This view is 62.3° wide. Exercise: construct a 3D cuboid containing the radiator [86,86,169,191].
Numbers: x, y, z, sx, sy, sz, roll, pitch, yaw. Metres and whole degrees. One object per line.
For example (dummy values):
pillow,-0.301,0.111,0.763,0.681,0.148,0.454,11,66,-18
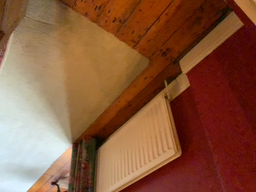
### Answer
radiator,-0.070,0.450,1.880,0.100,0.610,1.030,24,131,-25
